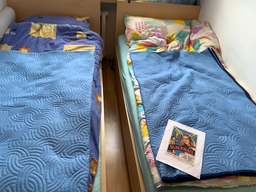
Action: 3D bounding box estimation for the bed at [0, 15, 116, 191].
[{"bbox_3d":[-0.670,-0.020,1.750,0.940,0.570,2.140,0,37,-9],"label":"bed"}]
